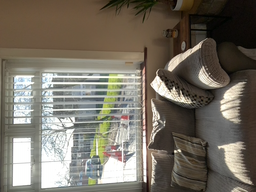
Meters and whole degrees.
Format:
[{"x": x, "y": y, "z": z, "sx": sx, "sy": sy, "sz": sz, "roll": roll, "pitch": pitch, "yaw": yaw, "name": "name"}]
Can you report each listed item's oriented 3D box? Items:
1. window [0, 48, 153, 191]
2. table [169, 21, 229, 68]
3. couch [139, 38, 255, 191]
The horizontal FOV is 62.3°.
[{"x": -0.580, "y": 0.380, "z": 2.530, "sx": 0.220, "sy": 1.750, "sz": 1.800, "roll": 168, "pitch": 102, "yaw": -79, "name": "window"}, {"x": 0.790, "y": -0.560, "z": 2.420, "sx": 0.400, "sy": 0.500, "sz": 0.400, "roll": 157, "pitch": 113, "yaw": -78, "name": "table"}, {"x": 0.680, "y": 1.090, "z": 2.030, "sx": 1.250, "sy": 0.850, "sz": 2.890, "roll": 168, "pitch": 102, "yaw": -79, "name": "couch"}]
